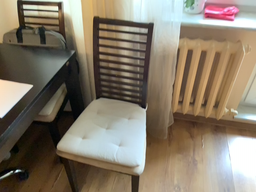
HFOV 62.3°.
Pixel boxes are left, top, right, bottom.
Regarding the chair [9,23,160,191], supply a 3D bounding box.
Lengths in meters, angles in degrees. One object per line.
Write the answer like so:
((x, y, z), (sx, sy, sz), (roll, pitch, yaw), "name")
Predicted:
((-0.130, 0.160, 1.170), (0.460, 0.910, 0.500), (9, 41, 10), "chair")

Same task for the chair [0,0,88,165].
((-0.630, -0.090, 1.400), (0.460, 0.980, 0.530), (7, 41, 8), "chair")
